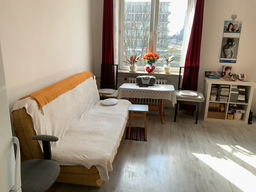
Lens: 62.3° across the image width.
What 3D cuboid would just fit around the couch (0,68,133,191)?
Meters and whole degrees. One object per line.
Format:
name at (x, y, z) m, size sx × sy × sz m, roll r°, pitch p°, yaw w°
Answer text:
couch at (-0.530, 0.260, 2.860) m, size 0.950 × 0.940 × 2.040 m, roll 4°, pitch 15°, yaw 6°

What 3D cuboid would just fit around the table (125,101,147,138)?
table at (0.140, 0.370, 3.460) m, size 0.300 × 0.460 × 0.420 m, roll 4°, pitch 15°, yaw 6°

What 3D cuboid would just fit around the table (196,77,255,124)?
table at (1.870, 0.070, 4.170) m, size 0.890 × 0.780 × 0.440 m, roll 4°, pitch 16°, yaw 7°
